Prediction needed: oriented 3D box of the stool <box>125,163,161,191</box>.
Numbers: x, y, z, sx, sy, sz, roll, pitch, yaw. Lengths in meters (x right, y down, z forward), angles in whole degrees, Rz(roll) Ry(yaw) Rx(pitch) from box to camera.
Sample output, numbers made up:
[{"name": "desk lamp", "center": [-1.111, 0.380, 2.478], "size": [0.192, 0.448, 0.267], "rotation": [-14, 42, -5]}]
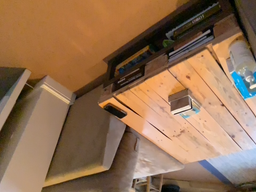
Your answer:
[{"name": "stool", "center": [0.200, 1.190, 2.820], "size": [0.320, 0.420, 0.350], "rotation": [-26, 131, 33]}]
